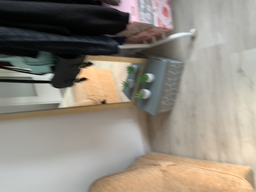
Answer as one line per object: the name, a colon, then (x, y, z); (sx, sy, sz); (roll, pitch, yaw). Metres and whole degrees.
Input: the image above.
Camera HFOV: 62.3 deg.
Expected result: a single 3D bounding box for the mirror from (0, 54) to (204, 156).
mirror: (-0.170, 0.010, 1.000); (0.360, 1.440, 0.200); (-45, 65, 40)
